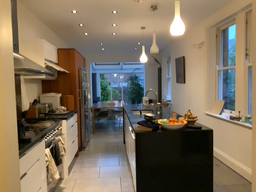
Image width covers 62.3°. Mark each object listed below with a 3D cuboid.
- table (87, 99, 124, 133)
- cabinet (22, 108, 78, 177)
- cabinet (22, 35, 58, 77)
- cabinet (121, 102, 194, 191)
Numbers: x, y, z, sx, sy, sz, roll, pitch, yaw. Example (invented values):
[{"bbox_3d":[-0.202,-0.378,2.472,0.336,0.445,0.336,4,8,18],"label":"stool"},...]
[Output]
[{"bbox_3d":[-0.700,0.580,7.230,1.030,0.770,2.410,-1,3,-3],"label":"table"},{"bbox_3d":[-1.290,0.730,3.700,0.640,0.940,0.950,-1,3,-3],"label":"cabinet"},{"bbox_3d":[-1.480,-0.650,3.660,0.310,0.600,0.840,-1,3,-3],"label":"cabinet"},{"bbox_3d":[0.260,0.710,3.590,0.660,0.960,2.800,-1,4,-4],"label":"cabinet"}]
